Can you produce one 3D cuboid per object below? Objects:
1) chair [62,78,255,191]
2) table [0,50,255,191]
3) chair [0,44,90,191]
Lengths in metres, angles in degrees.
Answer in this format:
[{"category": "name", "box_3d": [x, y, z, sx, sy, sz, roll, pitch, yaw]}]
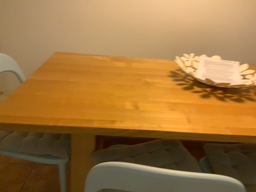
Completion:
[{"category": "chair", "box_3d": [0.070, 0.410, 0.840, 0.470, 0.790, 0.530, 4, 27, -3]}, {"category": "table", "box_3d": [0.320, 0.270, 1.200, 1.600, 0.740, 0.800, 4, 27, -3]}, {"category": "chair", "box_3d": [-0.500, 0.190, 1.160, 0.490, 0.790, 0.480, 5, 27, 0]}]
